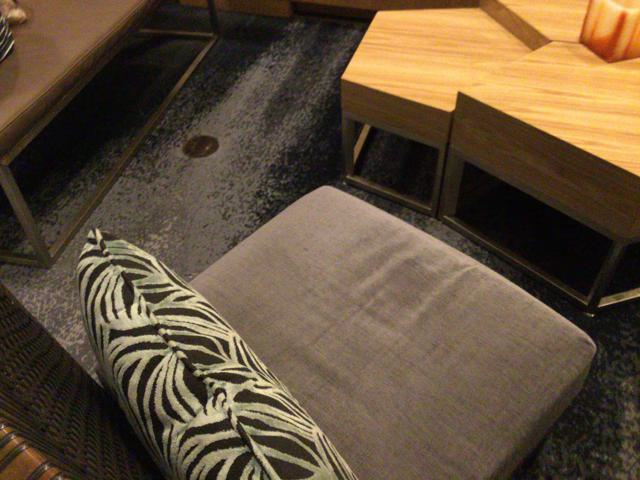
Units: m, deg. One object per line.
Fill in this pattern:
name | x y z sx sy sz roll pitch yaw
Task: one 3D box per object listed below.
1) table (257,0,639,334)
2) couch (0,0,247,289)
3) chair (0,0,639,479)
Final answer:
table | 0.840 -0.390 1.720 1.600 0.500 1.220 12 48 21
couch | -0.940 -0.630 2.090 0.770 0.480 1.610 5 46 15
chair | -0.030 0.190 0.930 0.860 0.920 0.750 -36 49 -24
